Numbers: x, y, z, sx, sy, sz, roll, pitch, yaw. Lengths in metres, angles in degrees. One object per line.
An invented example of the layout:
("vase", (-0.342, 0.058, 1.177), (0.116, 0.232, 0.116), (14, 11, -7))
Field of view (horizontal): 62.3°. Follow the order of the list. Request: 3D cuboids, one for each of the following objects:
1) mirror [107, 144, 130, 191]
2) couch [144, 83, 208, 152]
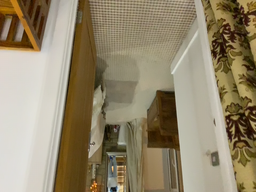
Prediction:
("mirror", (-0.210, 1.630, 4.660), (0.480, 1.110, 0.070), (2, 157, -4))
("couch", (0.660, 0.400, 3.340), (0.640, 0.790, 1.070), (2, 157, -5))
